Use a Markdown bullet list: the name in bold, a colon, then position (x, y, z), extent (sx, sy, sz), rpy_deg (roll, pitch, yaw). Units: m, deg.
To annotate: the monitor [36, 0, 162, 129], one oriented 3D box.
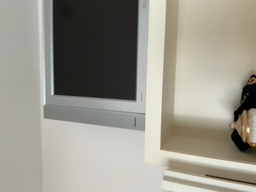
- **monitor**: position (-0.140, -0.330, 0.840), extent (0.040, 0.550, 0.870), rpy_deg (-10, -78, -66)
